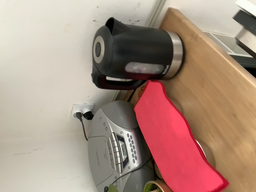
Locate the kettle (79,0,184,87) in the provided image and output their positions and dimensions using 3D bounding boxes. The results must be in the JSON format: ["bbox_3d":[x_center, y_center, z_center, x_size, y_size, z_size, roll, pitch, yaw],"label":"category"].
[{"bbox_3d":[0.000,-0.140,0.620,0.170,0.220,0.150,-61,42,40],"label":"kettle"}]
